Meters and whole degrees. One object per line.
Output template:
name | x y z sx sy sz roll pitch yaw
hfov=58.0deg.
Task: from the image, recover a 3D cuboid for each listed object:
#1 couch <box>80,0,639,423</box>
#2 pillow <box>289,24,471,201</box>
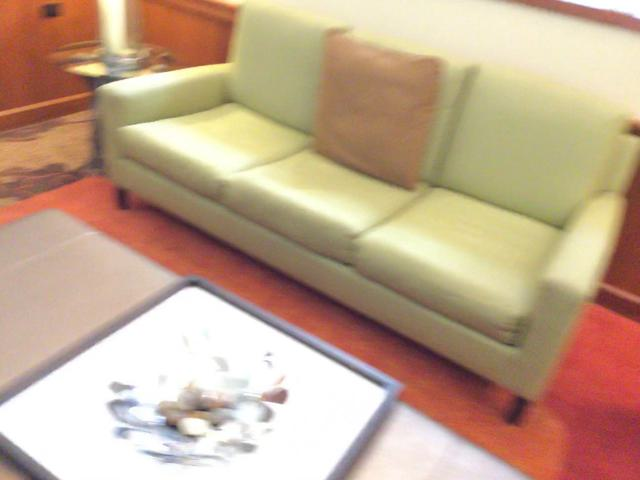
couch | 0.160 -0.380 2.450 2.140 0.840 1.030 26 35 23
pillow | 0.230 -0.550 2.430 0.600 0.520 0.300 26 35 23
